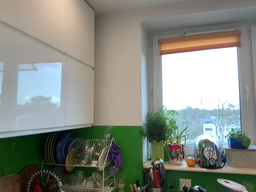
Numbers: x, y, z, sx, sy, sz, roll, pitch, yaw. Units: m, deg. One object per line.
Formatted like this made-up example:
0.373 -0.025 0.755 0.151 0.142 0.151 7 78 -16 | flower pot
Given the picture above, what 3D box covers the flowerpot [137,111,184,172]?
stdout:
0.270 0.350 1.730 0.340 0.450 0.200 -2 -5 19 | flowerpot
